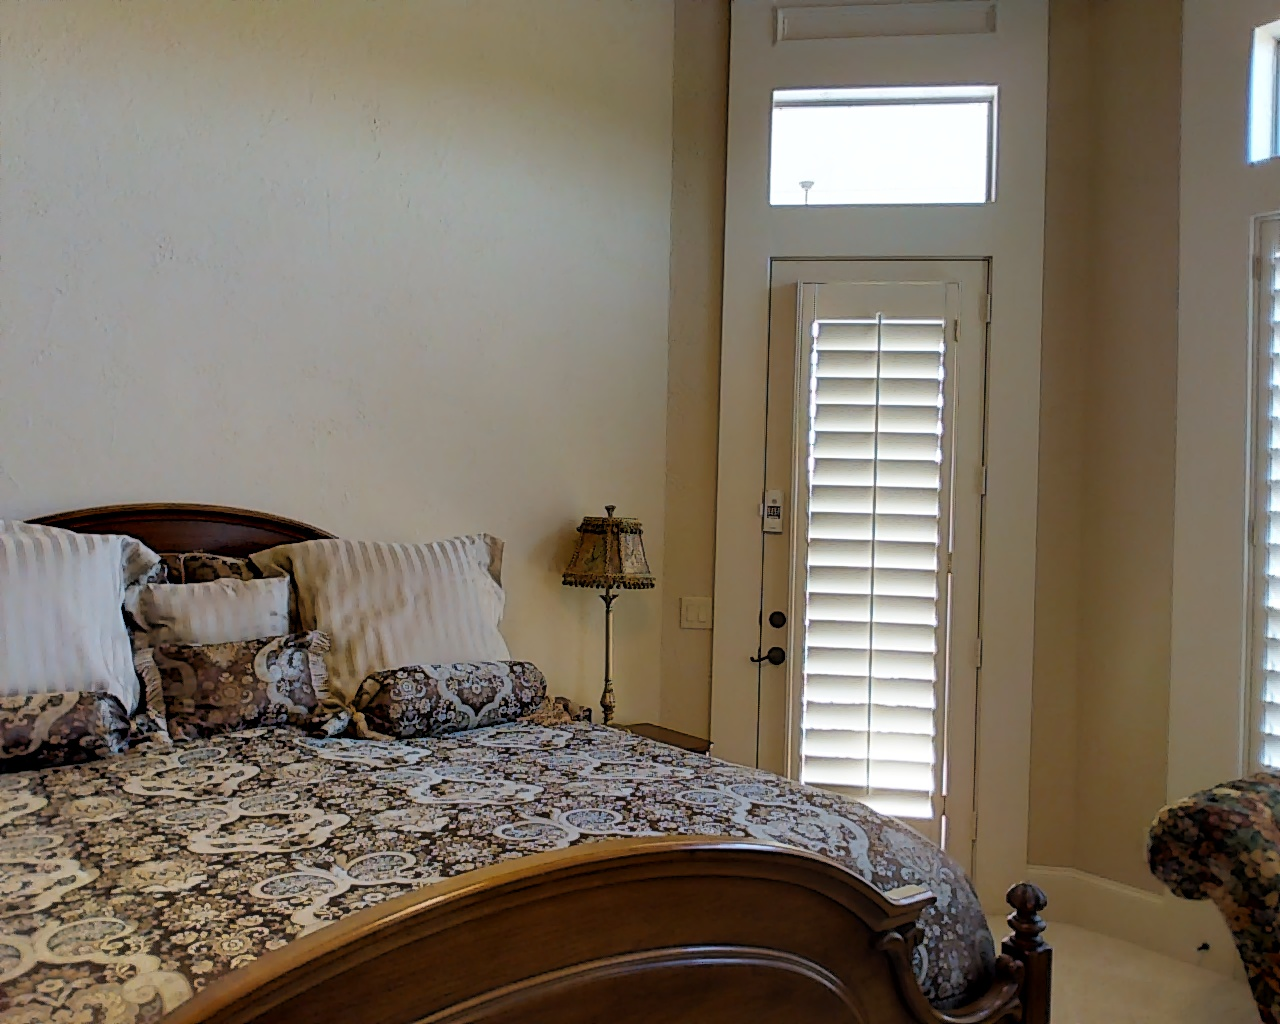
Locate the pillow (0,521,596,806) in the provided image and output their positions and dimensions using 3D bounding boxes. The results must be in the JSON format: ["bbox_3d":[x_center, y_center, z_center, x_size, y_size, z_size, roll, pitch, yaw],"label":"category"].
[{"bbox_3d":[-1.080,0.310,2.740,1.780,0.550,0.790,1,0,-36],"label":"pillow"}]
